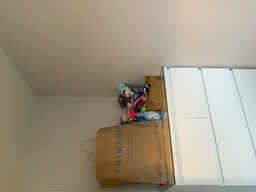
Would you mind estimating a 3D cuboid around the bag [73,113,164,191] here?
[{"bbox_3d":[-0.060,0.420,1.560,0.360,0.560,0.500,95,176,-68],"label":"bag"}]
